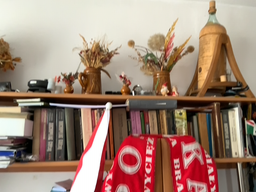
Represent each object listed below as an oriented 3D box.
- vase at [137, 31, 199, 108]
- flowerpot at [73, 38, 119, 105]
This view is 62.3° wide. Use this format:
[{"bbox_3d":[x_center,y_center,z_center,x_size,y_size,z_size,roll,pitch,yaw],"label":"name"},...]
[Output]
[{"bbox_3d":[0.180,-0.120,1.040,0.240,0.320,0.190,1,-14,-6],"label":"vase"},{"bbox_3d":[-0.140,-0.110,1.010,0.190,0.280,0.150,0,-14,-1],"label":"flowerpot"}]
